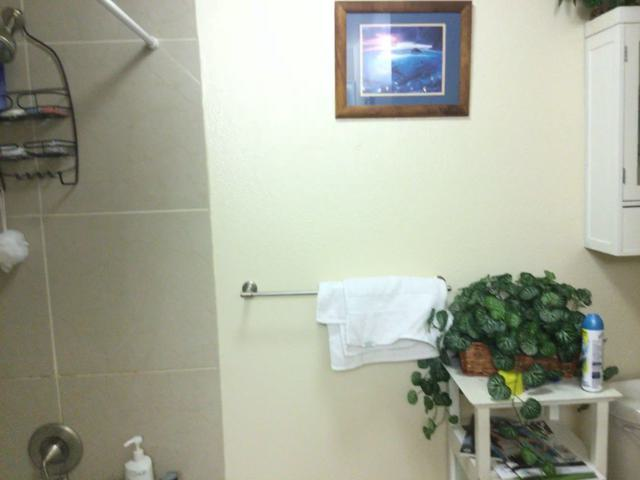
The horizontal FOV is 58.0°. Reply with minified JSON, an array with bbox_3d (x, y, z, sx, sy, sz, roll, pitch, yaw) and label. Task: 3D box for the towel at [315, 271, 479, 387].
[{"bbox_3d":[0.220,0.260,1.750,0.460,0.290,0.200,-2,5,-1],"label":"towel"}]
